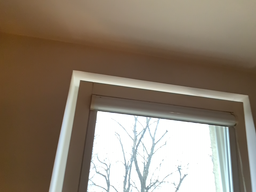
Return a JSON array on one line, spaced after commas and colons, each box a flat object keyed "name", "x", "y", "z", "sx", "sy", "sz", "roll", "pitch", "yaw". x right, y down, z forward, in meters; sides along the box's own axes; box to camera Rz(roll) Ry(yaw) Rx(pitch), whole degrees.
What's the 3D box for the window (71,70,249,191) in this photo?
[{"name": "window", "x": 0.140, "y": 0.630, "z": 0.880, "sx": 0.790, "sy": 1.440, "sz": 0.200, "roll": 9, "pitch": -26, "yaw": -13}]
